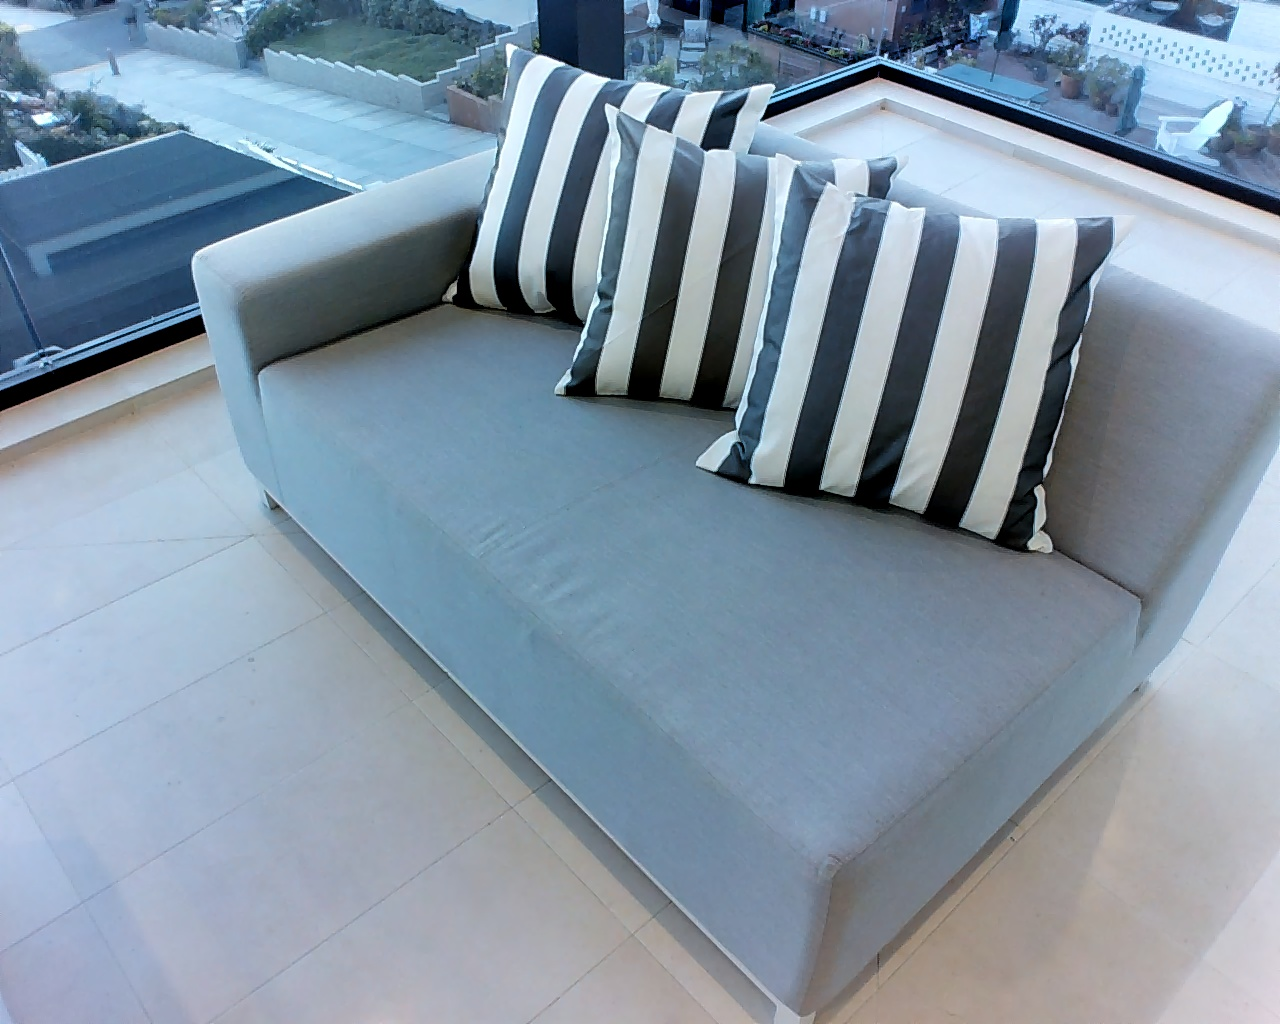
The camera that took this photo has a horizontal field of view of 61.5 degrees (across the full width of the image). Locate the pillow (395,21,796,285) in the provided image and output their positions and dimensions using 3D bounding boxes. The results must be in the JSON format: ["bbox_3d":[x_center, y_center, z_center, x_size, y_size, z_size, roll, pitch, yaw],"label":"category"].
[{"bbox_3d":[-0.070,-0.650,2.070,0.570,0.510,0.170,3,75,31],"label":"pillow"}]

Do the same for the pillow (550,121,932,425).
[{"bbox_3d":[0.180,-0.430,1.900,0.590,0.350,0.350,7,42,8],"label":"pillow"}]

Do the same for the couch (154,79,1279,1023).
[{"bbox_3d":[0.070,-0.120,2.010,1.100,0.640,1.680,-31,50,-30],"label":"couch"}]
